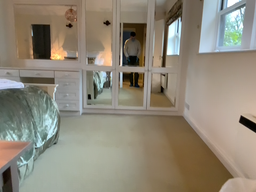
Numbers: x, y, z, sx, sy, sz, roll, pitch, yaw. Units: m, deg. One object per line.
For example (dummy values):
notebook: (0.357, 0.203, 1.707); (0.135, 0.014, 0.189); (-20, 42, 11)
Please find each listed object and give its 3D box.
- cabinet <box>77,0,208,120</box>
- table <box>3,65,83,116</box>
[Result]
cabinet: (0.190, -0.830, 3.360); (1.910, 2.360, 0.310); (2, 11, 0)
table: (-1.370, -0.100, 3.520); (1.170, 0.770, 0.310); (2, 11, 0)
